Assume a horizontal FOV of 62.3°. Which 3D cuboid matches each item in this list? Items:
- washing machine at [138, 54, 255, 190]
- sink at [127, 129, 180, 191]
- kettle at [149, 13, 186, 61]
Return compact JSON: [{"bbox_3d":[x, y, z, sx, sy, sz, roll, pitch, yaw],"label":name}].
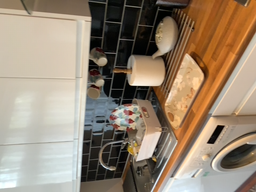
[{"bbox_3d":[0.660,0.160,1.550,0.670,0.920,0.600,-108,24,-45],"label":"washing machine"},{"bbox_3d":[0.190,0.650,1.900,0.510,0.210,0.470,-108,24,-45],"label":"sink"},{"bbox_3d":[0.220,-0.340,1.230,0.180,0.100,0.200,-108,24,-46],"label":"kettle"}]
